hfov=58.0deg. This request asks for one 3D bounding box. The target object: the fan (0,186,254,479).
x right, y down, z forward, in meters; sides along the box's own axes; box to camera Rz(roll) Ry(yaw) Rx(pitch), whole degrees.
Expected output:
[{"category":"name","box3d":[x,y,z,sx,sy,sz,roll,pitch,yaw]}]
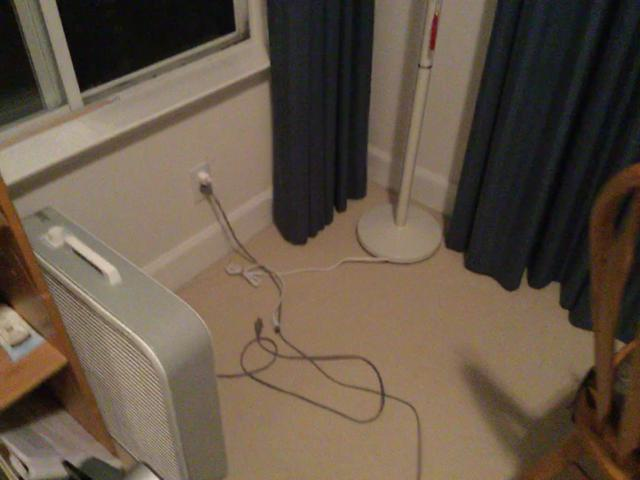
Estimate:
[{"category":"fan","box3d":[-0.390,0.240,1.220,0.490,0.560,0.160,26,44,31]}]

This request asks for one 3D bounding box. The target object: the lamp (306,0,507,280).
[{"category":"lamp","box3d":[0.230,-0.560,1.580,0.400,1.300,0.350,26,44,31]}]
